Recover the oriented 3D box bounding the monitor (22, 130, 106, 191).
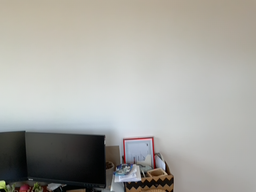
[{"bbox_3d":[-0.400,0.420,1.320,0.520,0.390,0.050,0,7,12],"label":"monitor"}]
